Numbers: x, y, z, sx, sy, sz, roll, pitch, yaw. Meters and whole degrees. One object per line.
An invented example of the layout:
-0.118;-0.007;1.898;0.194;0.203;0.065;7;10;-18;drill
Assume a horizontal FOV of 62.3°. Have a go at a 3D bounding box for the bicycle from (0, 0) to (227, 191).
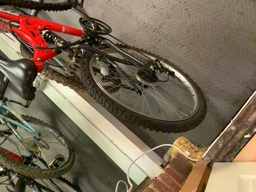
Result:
-0.410;-0.310;1.190;1.720;0.720;0.550;37;107;21;bicycle
